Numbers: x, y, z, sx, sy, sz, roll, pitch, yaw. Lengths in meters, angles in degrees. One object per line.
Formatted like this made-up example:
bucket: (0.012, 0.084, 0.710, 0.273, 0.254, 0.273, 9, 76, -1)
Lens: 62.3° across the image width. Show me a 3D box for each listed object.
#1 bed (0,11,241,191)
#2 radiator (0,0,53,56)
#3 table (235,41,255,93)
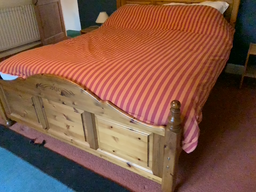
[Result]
bed: (0.070, -0.340, 2.260, 1.700, 0.680, 2.180, 15, 34, 26)
radiator: (-1.850, -1.300, 3.790, 0.100, 0.850, 1.060, 13, 33, 24)
table: (1.530, -0.310, 2.370, 0.470, 0.460, 0.380, 15, 34, 26)
